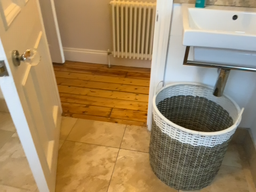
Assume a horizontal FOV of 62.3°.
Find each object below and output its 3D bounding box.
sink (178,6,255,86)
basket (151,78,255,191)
[{"bbox_3d":[0.500,-0.240,0.940,0.520,0.180,0.440,7,36,8],"label":"sink"},{"bbox_3d":[0.420,0.230,1.280,0.470,0.450,0.460,8,36,9],"label":"basket"}]
